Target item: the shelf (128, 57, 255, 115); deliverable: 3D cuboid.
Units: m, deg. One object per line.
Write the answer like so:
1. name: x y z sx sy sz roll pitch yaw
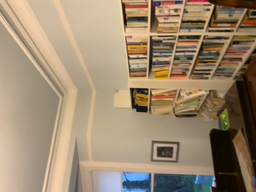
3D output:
1. shelf: 1.020 -0.110 3.040 0.850 1.990 0.460 83 -172 -64
